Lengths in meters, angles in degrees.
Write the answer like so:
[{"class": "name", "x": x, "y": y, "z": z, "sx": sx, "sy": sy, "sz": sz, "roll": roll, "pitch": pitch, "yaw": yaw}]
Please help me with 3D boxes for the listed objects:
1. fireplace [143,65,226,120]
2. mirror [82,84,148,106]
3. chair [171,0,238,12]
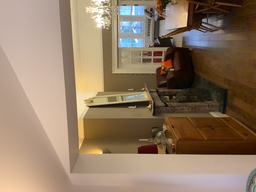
[{"class": "fireplace", "x": 1.000, "y": -0.160, "z": 4.390, "sx": 1.640, "sy": 1.220, "sz": 0.710, "roll": -93, "pitch": 4, "yaw": -73}, {"class": "mirror", "x": -0.250, "y": -0.040, "z": 4.380, "sx": 0.840, "sy": 1.240, "sz": 0.180, "roll": -93, "pitch": 4, "yaw": -72}, {"class": "chair", "x": 1.180, "y": -1.610, "z": 3.320, "sx": 0.510, "sy": 0.870, "sz": 0.510, "roll": -95, "pitch": 5, "yaw": -70}]
